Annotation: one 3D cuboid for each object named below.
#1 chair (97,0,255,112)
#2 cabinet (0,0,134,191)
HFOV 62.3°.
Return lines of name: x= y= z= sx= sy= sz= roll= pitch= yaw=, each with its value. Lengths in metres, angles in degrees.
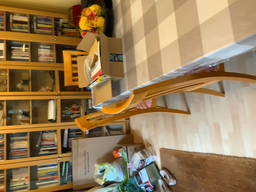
chair: x=0.360 y=-0.230 z=1.350 sx=0.390 sy=1.000 sz=0.580 roll=-20 pitch=73 yaw=62
cabinet: x=-0.990 y=-0.030 z=2.970 sx=0.290 sy=2.000 sz=2.590 roll=-21 pitch=72 yaw=62
